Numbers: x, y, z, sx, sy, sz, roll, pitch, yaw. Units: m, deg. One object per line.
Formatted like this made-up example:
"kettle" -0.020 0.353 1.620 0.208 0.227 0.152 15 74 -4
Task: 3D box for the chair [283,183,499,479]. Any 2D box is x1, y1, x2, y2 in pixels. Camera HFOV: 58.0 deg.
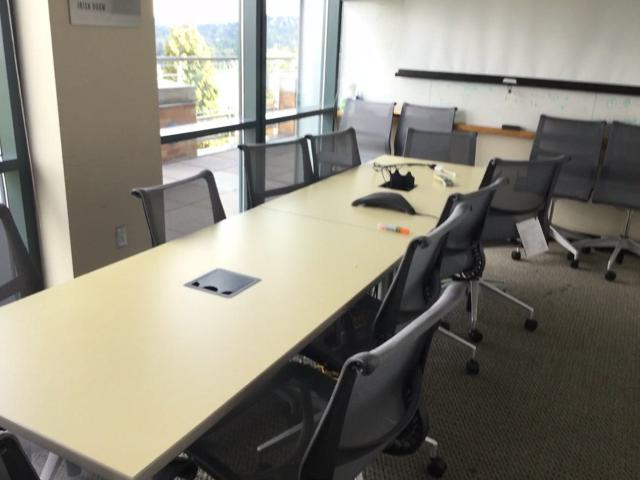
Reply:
"chair" 0.230 0.350 1.900 0.430 0.920 0.590 13 22 29

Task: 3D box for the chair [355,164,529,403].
"chair" 0.540 0.150 2.580 0.380 0.840 0.670 19 26 40

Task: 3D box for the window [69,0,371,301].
"window" -0.450 -1.220 3.810 0.590 2.530 2.270 13 22 28

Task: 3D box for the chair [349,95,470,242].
"chair" 0.680 -0.580 4.440 0.660 0.950 0.590 13 22 28

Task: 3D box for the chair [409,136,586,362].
"chair" 0.920 -0.010 3.000 0.530 0.910 0.760 16 24 34

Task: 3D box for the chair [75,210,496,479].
"chair" -0.060 0.500 1.480 0.670 0.910 0.710 15 23 32

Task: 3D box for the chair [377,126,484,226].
"chair" 0.690 -0.420 3.600 0.480 0.480 0.470 13 22 28

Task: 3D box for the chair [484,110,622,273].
"chair" 1.600 -0.370 3.980 0.650 0.930 0.610 13 22 28

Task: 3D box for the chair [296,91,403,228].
"chair" 0.240 -0.680 4.650 0.580 0.930 0.690 11 21 24

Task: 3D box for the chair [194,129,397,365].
"chair" -0.110 -0.030 2.990 0.680 0.920 0.780 13 22 28

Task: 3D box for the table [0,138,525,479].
"table" 0.000 0.210 2.480 0.910 0.800 3.090 13 22 29

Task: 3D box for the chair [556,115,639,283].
"chair" 2.000 -0.280 3.750 0.640 0.930 0.570 13 22 28
